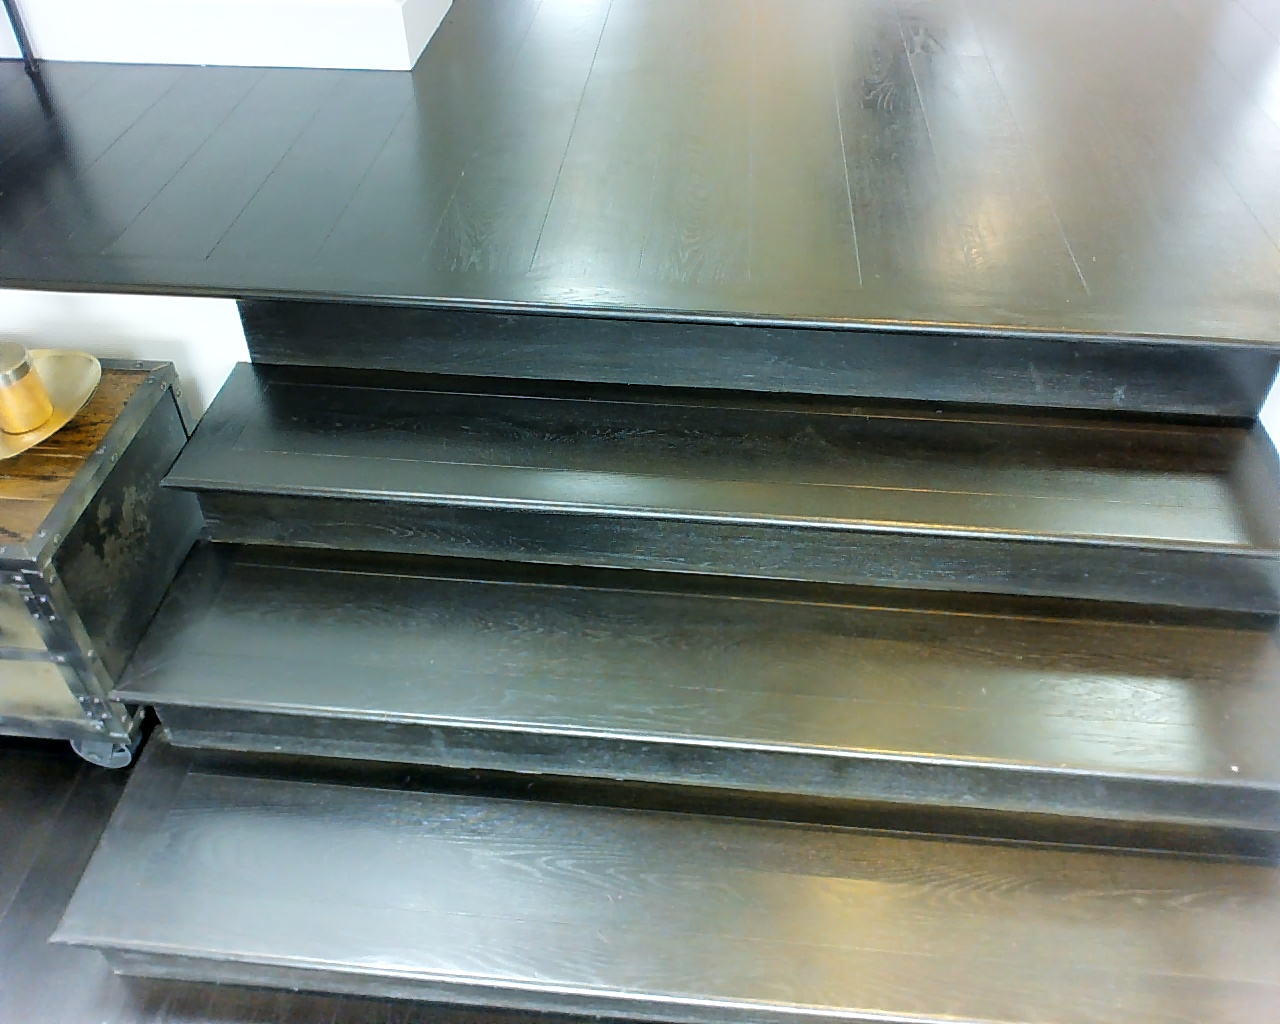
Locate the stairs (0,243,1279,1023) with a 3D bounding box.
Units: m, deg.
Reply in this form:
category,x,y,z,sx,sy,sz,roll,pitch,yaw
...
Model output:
category,x,y,z,sx,sy,sz,roll,pitch,yaw
stairs,0.050,0.200,1.570,1.930,0.700,0.950,4,43,4
